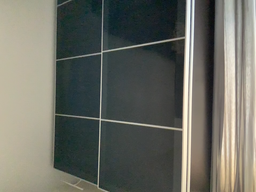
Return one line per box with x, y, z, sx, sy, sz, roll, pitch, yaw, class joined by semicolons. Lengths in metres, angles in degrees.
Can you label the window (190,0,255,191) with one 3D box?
0.780;-0.230;1.630;0.460;2.670;0.230;2;180;40;window
